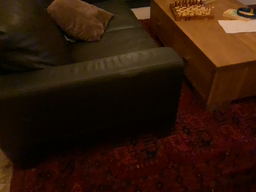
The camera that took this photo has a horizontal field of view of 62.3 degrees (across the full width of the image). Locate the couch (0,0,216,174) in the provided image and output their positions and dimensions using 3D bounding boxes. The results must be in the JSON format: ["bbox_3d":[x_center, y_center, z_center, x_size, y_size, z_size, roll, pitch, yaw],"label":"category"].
[{"bbox_3d":[-0.360,-0.470,1.540,1.050,0.780,1.570,-11,44,-9],"label":"couch"}]
